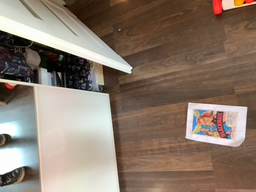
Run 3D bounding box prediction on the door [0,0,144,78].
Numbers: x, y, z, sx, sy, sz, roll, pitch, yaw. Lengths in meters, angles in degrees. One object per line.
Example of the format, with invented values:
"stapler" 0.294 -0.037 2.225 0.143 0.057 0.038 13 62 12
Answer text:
"door" -0.650 -0.500 0.740 0.850 2.030 0.070 47 107 22
